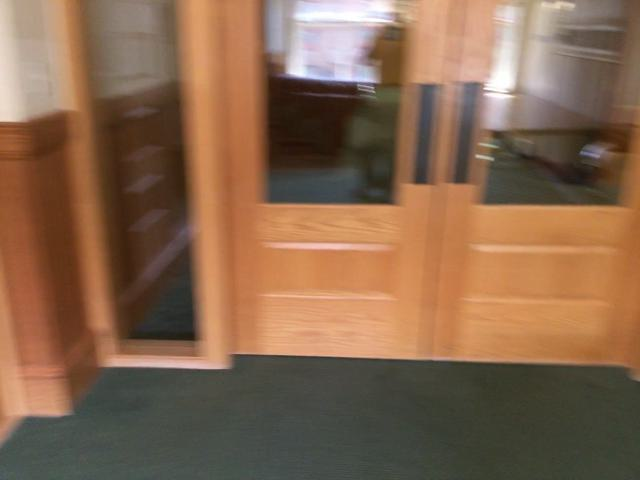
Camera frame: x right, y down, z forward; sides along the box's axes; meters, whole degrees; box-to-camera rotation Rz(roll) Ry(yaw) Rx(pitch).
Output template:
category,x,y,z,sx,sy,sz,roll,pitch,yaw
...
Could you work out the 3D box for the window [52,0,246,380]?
category,x,y,z,sx,sy,sz,roll,pitch,yaw
window,-0.660,-0.380,2.360,0.620,1.890,0.350,6,19,4
